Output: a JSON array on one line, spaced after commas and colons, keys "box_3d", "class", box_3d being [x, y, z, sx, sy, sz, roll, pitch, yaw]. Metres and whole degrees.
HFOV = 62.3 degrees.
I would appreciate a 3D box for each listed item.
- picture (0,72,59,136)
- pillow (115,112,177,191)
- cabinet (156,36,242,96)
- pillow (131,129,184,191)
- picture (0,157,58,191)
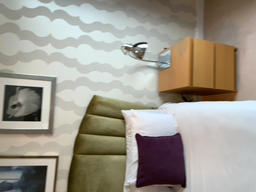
[{"box_3d": [-0.820, 0.070, 1.680, 0.040, 0.480, 0.480, -178, 93, -69], "class": "picture"}, {"box_3d": [0.170, 0.450, 1.820, 0.240, 0.510, 0.620, -2, 85, 45], "class": "pillow"}, {"box_3d": [0.650, -0.240, 2.010, 0.520, 0.550, 0.410, 173, 101, -69], "class": "cabinet"}, {"box_3d": [0.240, 0.480, 1.620, 0.160, 0.380, 0.420, 2, 82, 46], "class": "pillow"}, {"box_3d": [-0.860, 0.720, 1.610, 0.050, 0.580, 0.490, 178, 96, -69], "class": "picture"}]
